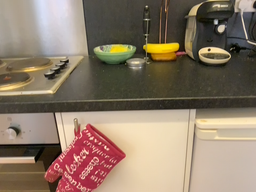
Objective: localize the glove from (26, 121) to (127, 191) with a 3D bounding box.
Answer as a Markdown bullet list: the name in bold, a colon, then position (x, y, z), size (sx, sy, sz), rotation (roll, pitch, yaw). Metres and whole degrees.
- **glove**: position (-0.150, 0.250, 0.720), size (0.290, 0.330, 0.070), rotation (-1, 24, 0)

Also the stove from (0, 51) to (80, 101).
- **stove**: position (-0.550, -0.110, 0.890), size (0.570, 0.020, 0.590), rotation (-1, 24, 0)
